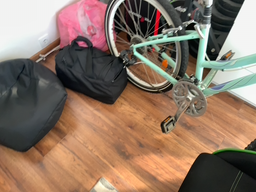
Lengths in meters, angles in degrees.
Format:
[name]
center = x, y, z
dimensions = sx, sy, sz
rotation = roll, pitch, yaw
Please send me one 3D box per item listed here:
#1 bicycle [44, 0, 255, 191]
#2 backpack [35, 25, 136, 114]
[bicycle]
center = 0.350, -0.110, 1.040
dimensions = 1.450, 0.980, 0.580
rotation = 35, 62, 20
[backpack]
center = -0.270, -0.190, 1.420
dimensions = 0.550, 0.230, 0.320
rotation = 30, 60, 17
